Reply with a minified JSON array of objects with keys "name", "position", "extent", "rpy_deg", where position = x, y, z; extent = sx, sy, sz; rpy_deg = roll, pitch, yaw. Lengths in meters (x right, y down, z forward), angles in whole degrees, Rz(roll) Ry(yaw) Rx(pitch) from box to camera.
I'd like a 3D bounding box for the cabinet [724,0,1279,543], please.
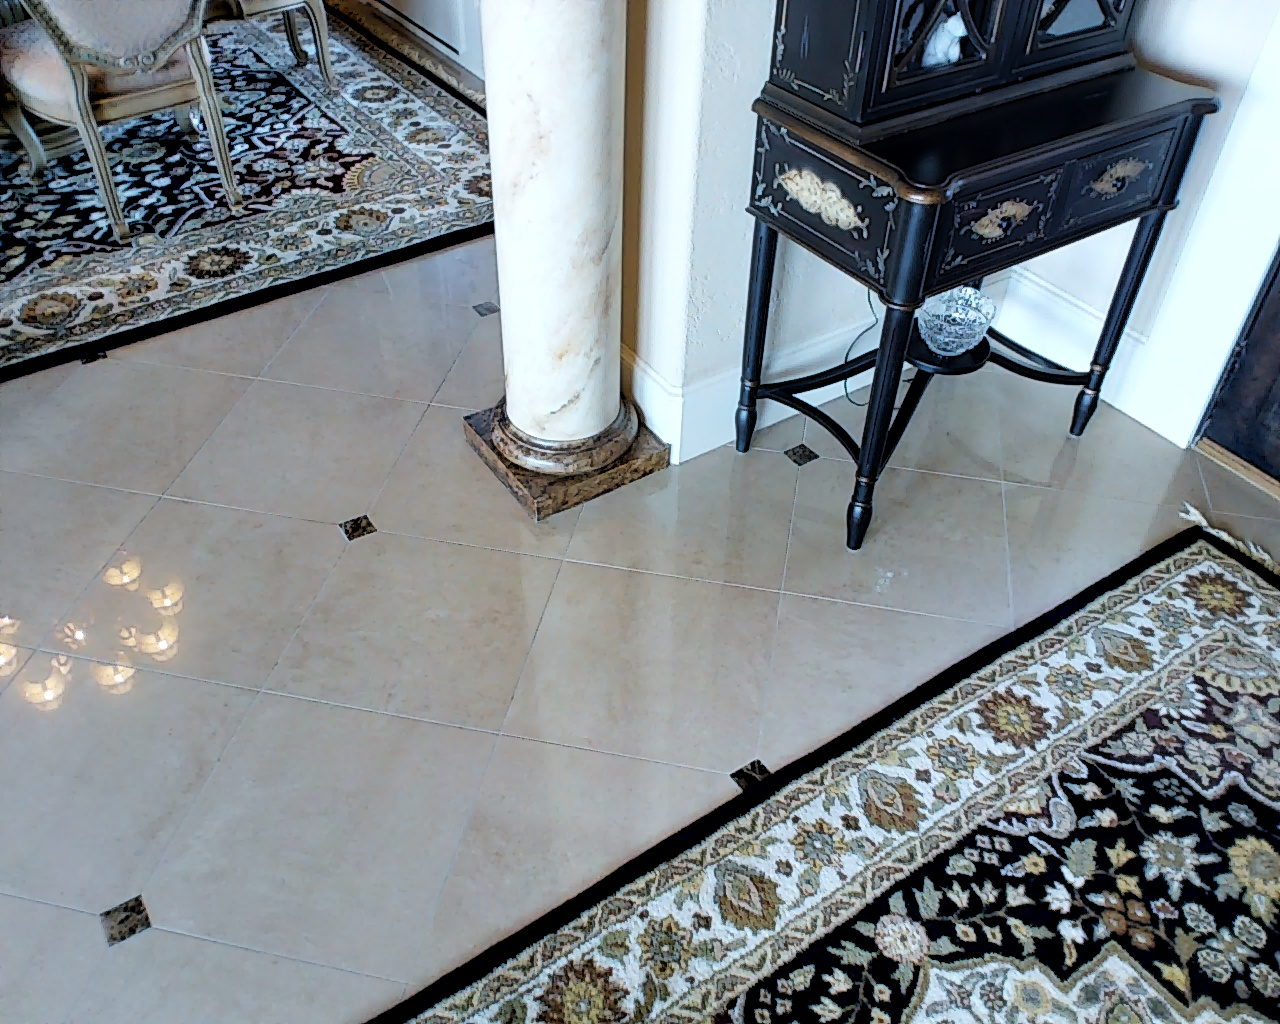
[{"name":"cabinet","position":[0.680,-1.030,1.720],"extent":[0.800,2.190,0.480],"rpy_deg":[-23,47,-25]}]
